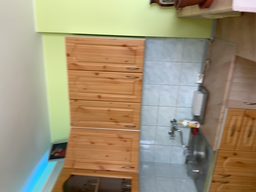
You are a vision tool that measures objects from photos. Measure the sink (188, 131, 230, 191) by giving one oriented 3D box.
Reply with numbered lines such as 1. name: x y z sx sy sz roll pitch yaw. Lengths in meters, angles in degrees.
1. sink: 0.830 0.710 2.250 0.480 0.210 0.490 -84 -3 -70
